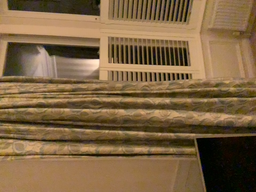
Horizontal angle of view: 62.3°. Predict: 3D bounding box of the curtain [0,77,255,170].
[{"bbox_3d":[0.050,0.200,1.780,0.340,2.860,0.630,-130,42,-76],"label":"curtain"}]
